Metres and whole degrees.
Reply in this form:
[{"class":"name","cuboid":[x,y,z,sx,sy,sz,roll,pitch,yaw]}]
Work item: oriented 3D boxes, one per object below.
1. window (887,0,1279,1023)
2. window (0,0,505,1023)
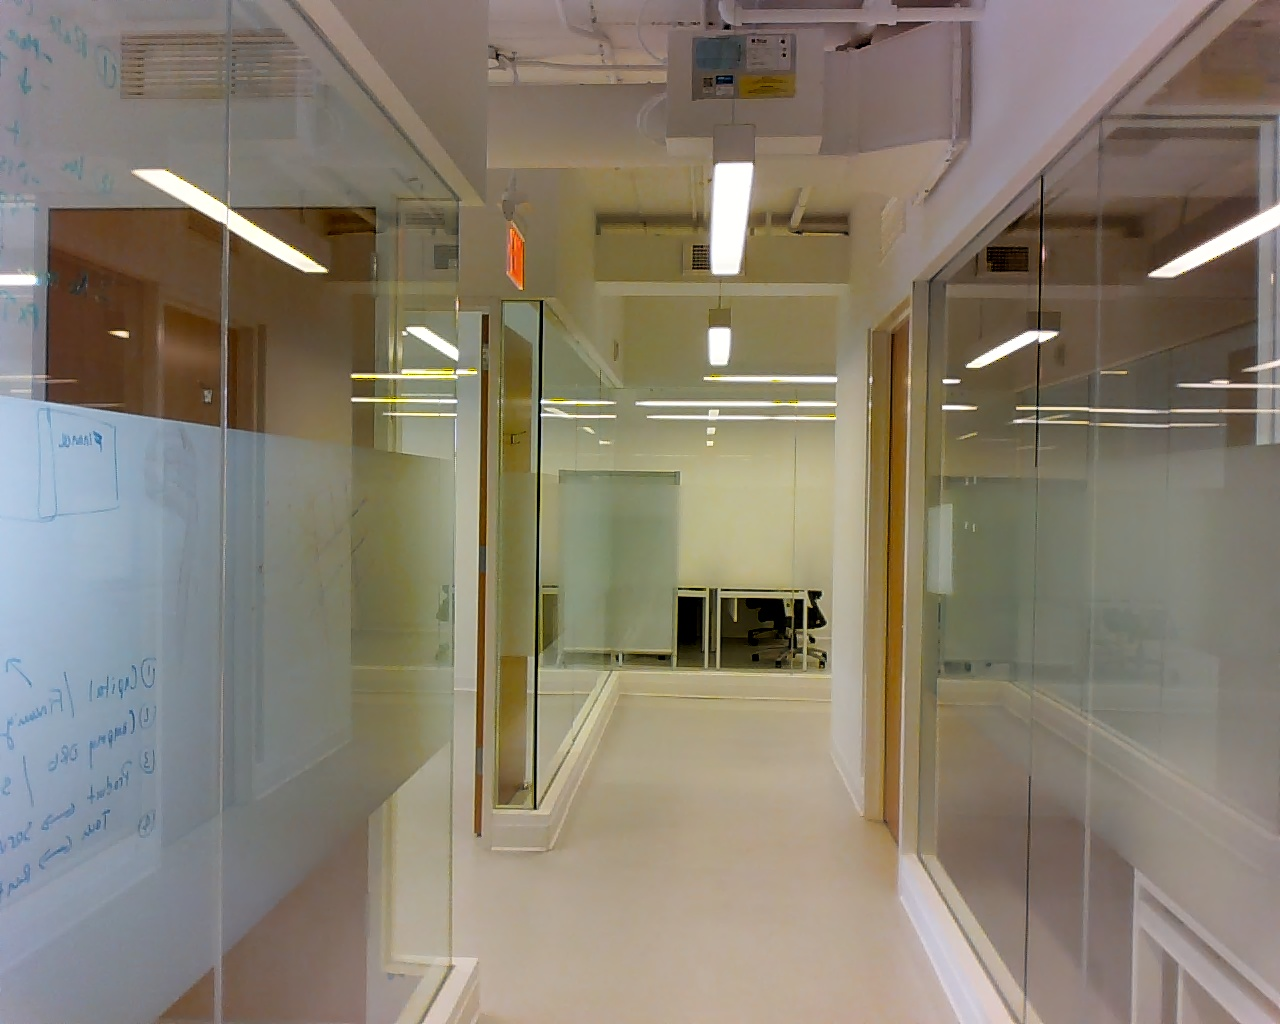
[{"class":"window","cuboid":[0.920,0.300,1.960,0.160,2.271,4.000,1,0,3]},{"class":"window","cuboid":[-0.670,0.290,0.980,0.310,2.271,4.210,1,0,3]}]
